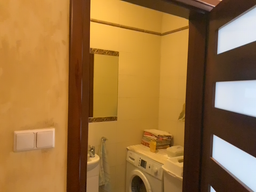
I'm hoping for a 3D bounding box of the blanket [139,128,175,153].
[{"bbox_3d":[0.320,0.490,2.380,0.300,0.180,0.260,0,3,-34],"label":"blanket"}]
